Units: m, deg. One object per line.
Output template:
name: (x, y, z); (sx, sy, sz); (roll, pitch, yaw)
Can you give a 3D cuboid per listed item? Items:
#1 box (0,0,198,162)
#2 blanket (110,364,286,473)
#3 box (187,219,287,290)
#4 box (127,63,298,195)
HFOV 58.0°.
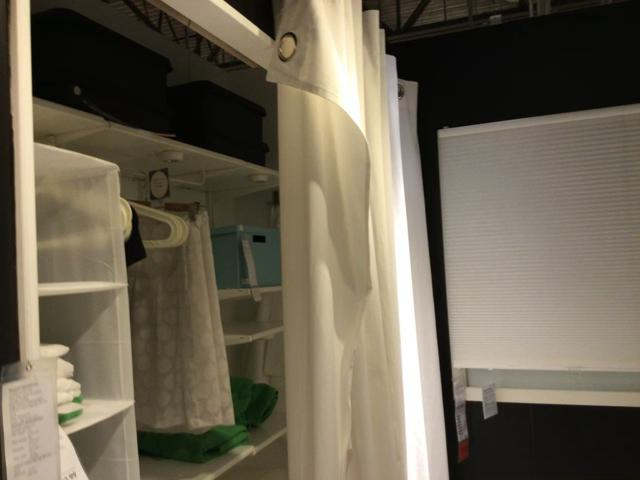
box: (-0.600, -0.400, 1.570); (0.300, 0.270, 0.490); (-5, -3, 20)
blanket: (-0.370, 0.550, 1.870); (0.340, 0.210, 0.490); (-5, -3, 20)
box: (-0.260, 0.050, 1.880); (0.180, 0.200, 0.320); (-5, -3, 20)
box: (-0.370, -0.380, 2.180); (0.330, 0.320, 0.650); (-5, -3, 20)
